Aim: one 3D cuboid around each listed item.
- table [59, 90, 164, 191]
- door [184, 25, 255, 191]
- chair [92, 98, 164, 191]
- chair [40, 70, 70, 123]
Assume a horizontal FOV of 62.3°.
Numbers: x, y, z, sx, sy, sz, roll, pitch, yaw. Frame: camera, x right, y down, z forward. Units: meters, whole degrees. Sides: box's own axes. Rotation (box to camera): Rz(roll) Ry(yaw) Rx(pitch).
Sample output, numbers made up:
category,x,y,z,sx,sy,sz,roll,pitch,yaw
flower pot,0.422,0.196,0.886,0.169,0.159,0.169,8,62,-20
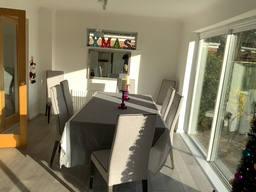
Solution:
category,x,y,z,sx,sy,sz,roll,pitch,yaw
table,-0.210,0.500,3.340,1.110,0.780,2.030,4,11,-2
door,1.320,0.090,3.160,0.070,2.010,2.450,5,11,-1
chair,-0.050,0.600,2.170,0.430,1.050,0.630,-1,12,-25
chair,-1.630,-0.010,4.680,0.450,1.030,0.640,-3,13,-34
